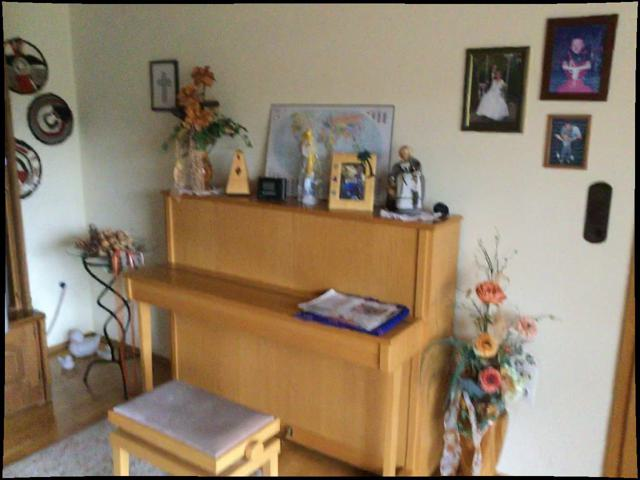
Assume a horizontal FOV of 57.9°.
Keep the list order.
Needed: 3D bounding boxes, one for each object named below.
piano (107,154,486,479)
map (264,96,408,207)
[{"bbox_3d":[-0.170,0.330,2.580,1.519,1.241,0.590,11,16,29],"label":"piano"},{"bbox_3d":[0.050,-0.420,2.670,0.699,0.440,0.060,11,16,29],"label":"map"}]
